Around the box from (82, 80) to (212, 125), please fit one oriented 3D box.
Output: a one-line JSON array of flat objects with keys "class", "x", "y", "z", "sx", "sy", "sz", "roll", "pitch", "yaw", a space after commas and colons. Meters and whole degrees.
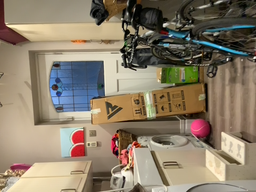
[{"class": "box", "x": 0.200, "y": 0.100, "z": 2.610, "sx": 0.530, "sy": 1.430, "sz": 0.460, "roll": 109, "pitch": 159, "yaw": -82}]
